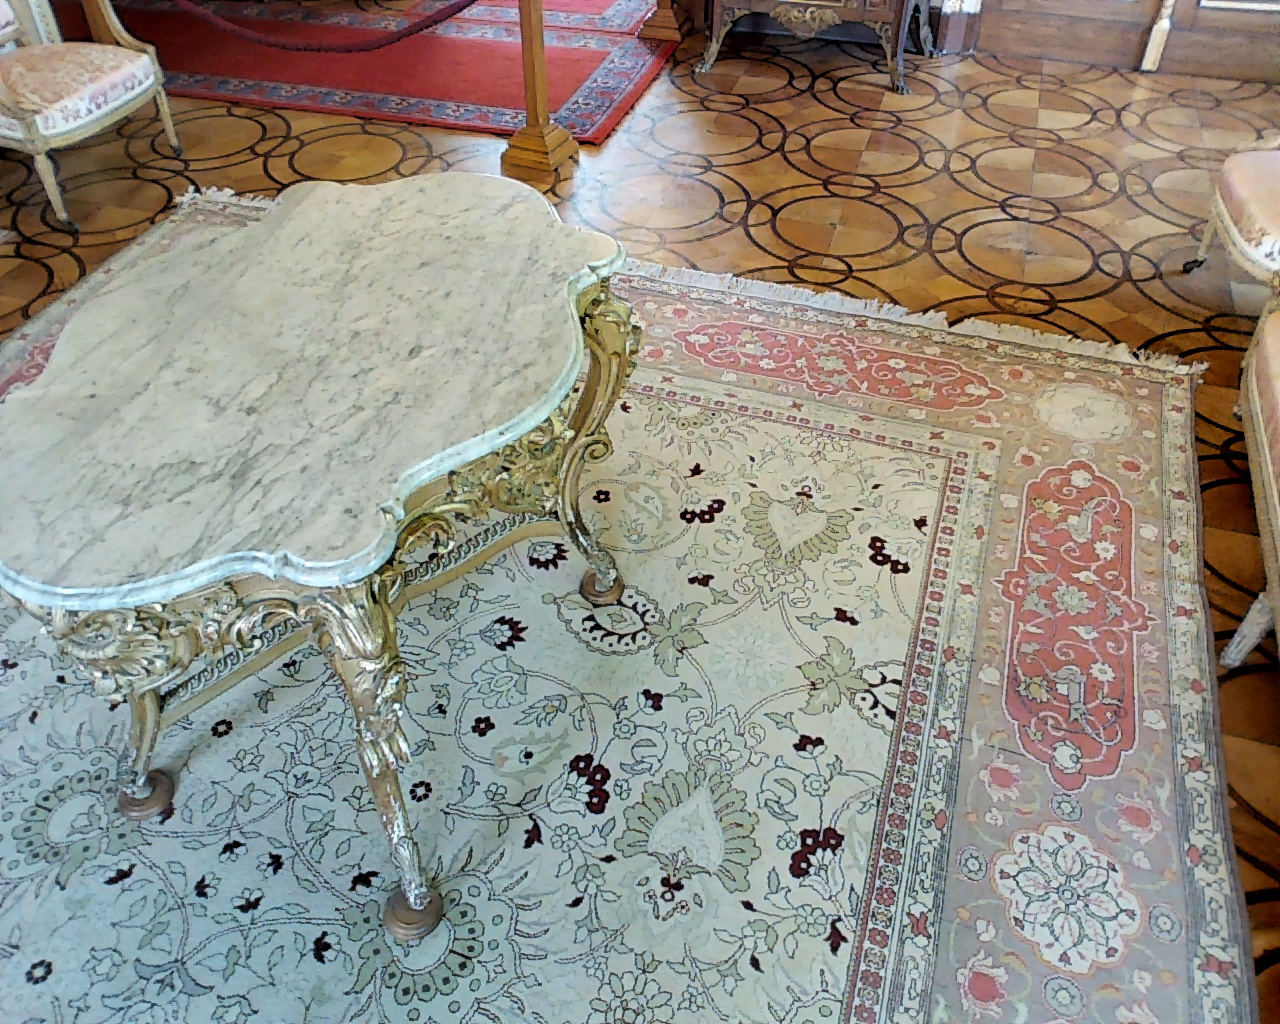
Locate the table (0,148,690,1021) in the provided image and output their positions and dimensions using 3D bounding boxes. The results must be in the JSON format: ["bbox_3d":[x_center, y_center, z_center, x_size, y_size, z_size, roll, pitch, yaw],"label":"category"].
[{"bbox_3d":[-0.480,0.030,1.930,0.830,0.830,1.190,12,43,13],"label":"table"}]

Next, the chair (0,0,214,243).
[{"bbox_3d":[-2.109,-1.590,3.660,0.750,1.020,0.680,12,43,13],"label":"chair"}]
